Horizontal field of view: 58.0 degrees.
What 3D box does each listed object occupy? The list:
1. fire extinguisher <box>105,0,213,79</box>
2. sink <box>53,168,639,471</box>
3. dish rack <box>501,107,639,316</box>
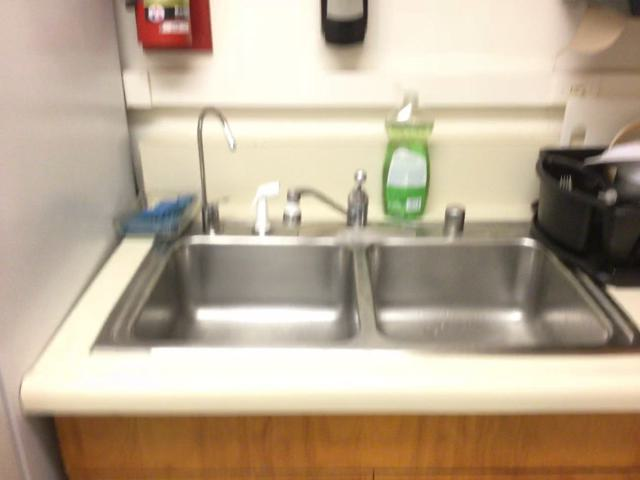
[{"bbox_3d":[-0.320,-0.590,1.110,0.170,0.520,0.150,1,25,-1],"label":"fire extinguisher"},{"bbox_3d":[0.110,0.100,1.090,0.930,0.290,0.580,1,25,-1],"label":"sink"},{"bbox_3d":[0.720,-0.080,1.080,0.600,0.230,0.460,1,25,-1],"label":"dish rack"}]
